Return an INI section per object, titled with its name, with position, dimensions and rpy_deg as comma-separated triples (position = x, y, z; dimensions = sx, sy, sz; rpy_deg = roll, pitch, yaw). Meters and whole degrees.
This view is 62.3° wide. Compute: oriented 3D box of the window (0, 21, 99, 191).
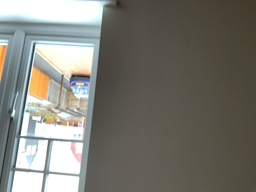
[window]
position = -0.740, 0.100, 1.240
dimensions = 1.030, 1.120, 0.070
rpy_deg = 4, 169, 2
